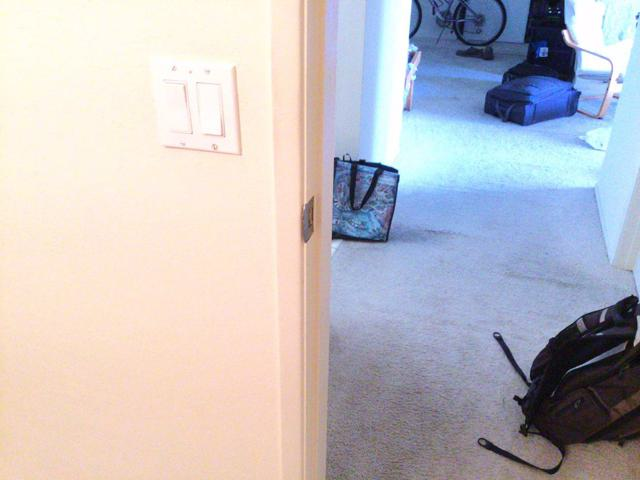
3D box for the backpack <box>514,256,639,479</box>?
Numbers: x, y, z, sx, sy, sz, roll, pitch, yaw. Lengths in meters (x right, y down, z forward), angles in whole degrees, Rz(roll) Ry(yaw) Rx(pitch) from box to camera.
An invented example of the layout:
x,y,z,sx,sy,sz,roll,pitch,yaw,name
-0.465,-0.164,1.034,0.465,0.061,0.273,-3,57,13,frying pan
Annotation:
x,y,z,sx,sy,sz,roll,pitch,yaw,name
0.850,0.380,1.720,0.280,0.490,0.360,30,34,3,backpack
